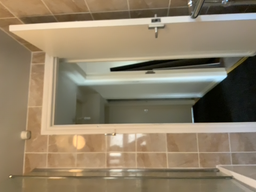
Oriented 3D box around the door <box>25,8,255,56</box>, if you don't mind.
[{"bbox_3d":[0.310,-0.450,1.600,0.640,1.890,0.110,15,-106,-86],"label":"door"}]
